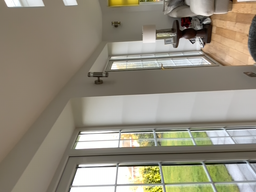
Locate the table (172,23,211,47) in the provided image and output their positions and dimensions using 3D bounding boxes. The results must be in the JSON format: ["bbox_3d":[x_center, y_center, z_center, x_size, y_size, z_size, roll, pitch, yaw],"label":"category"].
[{"bbox_3d":[1.250,-1.220,4.230,0.400,0.640,0.400,-87,-5,-69],"label":"table"}]
